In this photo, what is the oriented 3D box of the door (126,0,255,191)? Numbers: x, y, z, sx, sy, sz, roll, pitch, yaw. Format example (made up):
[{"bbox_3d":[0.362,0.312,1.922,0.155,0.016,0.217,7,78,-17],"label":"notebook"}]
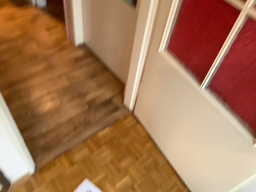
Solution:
[{"bbox_3d":[0.410,-0.190,0.840,0.140,1.960,0.850,-23,57,-27],"label":"door"}]
